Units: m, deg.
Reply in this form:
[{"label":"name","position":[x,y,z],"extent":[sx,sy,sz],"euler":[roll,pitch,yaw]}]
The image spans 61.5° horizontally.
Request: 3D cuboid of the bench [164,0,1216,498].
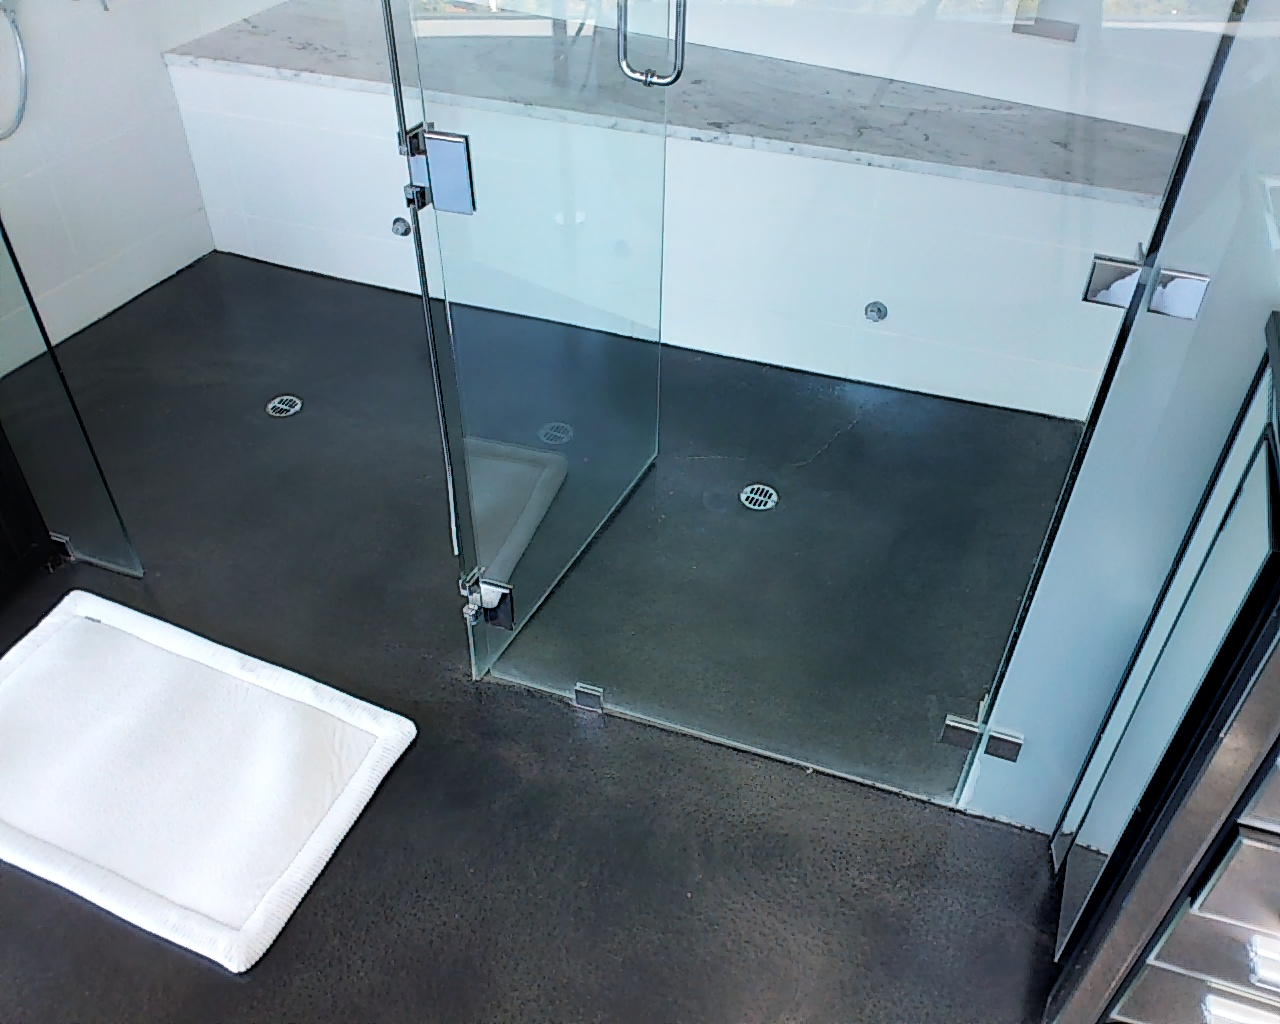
[{"label":"bench","position":[0.040,-0.890,2.910],"extent":[2.540,0.660,0.770],"euler":[19,45,20]}]
